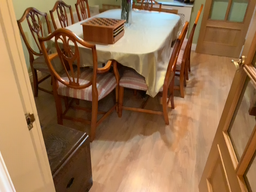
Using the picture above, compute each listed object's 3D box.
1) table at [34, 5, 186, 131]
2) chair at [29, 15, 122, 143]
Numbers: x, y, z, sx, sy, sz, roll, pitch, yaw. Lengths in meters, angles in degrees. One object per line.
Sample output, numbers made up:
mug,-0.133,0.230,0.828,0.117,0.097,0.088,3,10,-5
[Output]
table,-0.020,-0.570,2.740,1.110,0.770,1.880,14,34,17
chair,-0.390,-0.160,1.890,0.520,0.940,0.510,10,33,13
